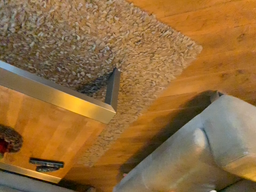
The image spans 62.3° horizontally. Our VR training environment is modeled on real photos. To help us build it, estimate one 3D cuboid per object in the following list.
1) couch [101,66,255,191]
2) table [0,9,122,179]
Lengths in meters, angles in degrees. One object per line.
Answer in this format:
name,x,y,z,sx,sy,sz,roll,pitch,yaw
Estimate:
couch,0.610,0.800,1.810,1.150,0.780,1.680,22,132,-18
table,-0.850,0.020,1.390,1.260,0.390,1.030,23,132,-19
